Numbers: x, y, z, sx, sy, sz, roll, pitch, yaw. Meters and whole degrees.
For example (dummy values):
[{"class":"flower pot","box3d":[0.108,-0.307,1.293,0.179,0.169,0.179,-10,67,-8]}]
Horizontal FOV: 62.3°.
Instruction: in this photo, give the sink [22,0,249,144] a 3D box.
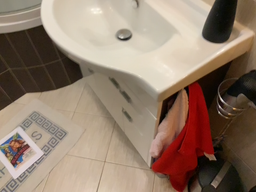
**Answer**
[{"class":"sink","box3d":[-0.070,-0.310,0.870,0.500,0.170,0.870,-29,59,-18]}]
